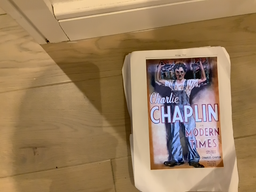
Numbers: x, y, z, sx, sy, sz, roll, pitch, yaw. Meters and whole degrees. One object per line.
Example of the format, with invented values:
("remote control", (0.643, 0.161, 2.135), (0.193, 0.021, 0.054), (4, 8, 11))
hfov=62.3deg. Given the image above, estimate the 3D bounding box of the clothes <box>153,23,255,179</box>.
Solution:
("clothes", (0.190, 0.010, 0.460), (0.250, 0.050, 0.310), (3, 85, -1))
